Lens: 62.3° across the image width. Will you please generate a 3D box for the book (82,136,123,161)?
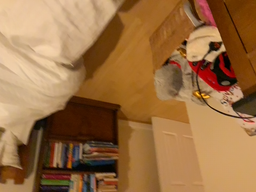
[{"bbox_3d":[-0.220,0.460,1.840,0.320,0.160,0.130,13,147,-29],"label":"book"}]
